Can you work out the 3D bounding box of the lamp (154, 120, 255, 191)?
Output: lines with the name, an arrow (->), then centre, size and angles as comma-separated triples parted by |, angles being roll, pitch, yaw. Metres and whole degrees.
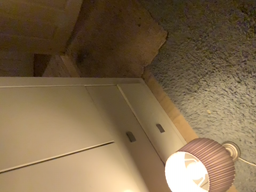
lamp -> 0.410, 0.320, 1.060 | 0.220, 0.470, 0.260 | 56, 129, 27
